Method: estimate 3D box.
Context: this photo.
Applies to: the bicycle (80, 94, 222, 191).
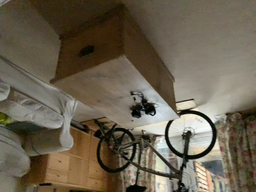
[{"bbox_3d":[0.240,0.700,2.790,1.600,0.960,0.590,-14,149,23],"label":"bicycle"}]
